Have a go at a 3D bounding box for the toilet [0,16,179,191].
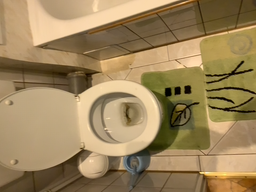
[{"bbox_3d":[-0.210,0.100,0.990,0.700,0.910,0.470,-8,88,22],"label":"toilet"}]
